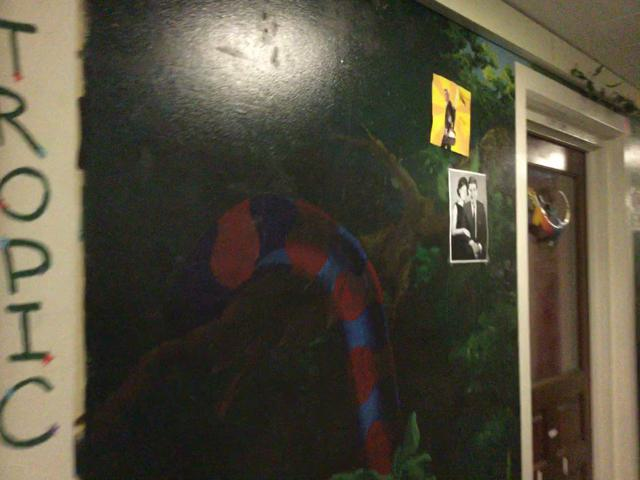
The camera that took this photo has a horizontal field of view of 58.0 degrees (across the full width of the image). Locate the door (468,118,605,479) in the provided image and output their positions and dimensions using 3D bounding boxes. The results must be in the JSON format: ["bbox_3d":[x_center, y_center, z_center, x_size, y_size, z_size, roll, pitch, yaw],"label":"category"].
[{"bbox_3d":[0.950,0.630,2.460,0.910,2.110,0.140,6,-4,-43],"label":"door"}]

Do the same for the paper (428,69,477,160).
[{"bbox_3d":[0.390,-0.360,1.690,0.210,0.220,0.020,6,-4,-43],"label":"paper"}]
